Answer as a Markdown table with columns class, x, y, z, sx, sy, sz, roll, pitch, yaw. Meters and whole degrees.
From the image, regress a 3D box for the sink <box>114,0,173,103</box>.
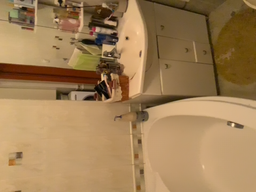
| class | x | y | z | sx | sy | sz | roll | pitch | yaw |
| --- | --- | --- | --- | --- | --- | --- | --- | --- | --- |
| sink | 0.090 | -0.380 | 1.740 | 0.490 | 0.210 | 0.800 | 152 | 116 | -62 |

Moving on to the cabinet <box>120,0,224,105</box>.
| class | x | y | z | sx | sy | sz | roll | pitch | yaw |
| --- | --- | --- | --- | --- | --- | --- | --- | --- | --- |
| cabinet | 0.380 | -0.350 | 1.940 | 0.390 | 0.760 | 0.790 | 152 | 116 | -62 |
